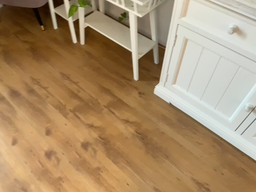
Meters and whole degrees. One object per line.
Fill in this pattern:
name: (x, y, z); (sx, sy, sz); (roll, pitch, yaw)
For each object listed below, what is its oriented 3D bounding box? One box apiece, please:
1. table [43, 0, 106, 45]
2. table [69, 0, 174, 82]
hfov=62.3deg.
table: (-0.490, -0.930, 1.840); (0.360, 0.790, 0.400); (34, 60, 22)
table: (-0.070, -0.610, 1.700); (0.690, 0.660, 0.390); (34, 60, 22)
